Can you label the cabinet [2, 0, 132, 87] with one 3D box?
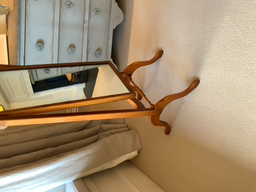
[{"bbox_3d":[-0.530,-0.710,1.780,0.680,0.870,1.150,21,108,54],"label":"cabinet"}]
